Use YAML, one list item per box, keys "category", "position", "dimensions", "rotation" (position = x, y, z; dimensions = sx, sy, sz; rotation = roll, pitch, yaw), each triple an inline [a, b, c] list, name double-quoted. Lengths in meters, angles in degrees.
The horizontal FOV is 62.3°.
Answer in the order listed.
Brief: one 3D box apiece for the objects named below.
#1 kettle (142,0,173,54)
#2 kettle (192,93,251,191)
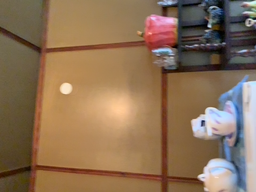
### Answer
- category: "kettle"
  position: [0.170, -0.380, 1.180]
  dimensions: [0.160, 0.150, 0.230]
  rotation: [35, -125, -72]
- category: "kettle"
  position: [0.360, 0.170, 0.910]
  dimensions: [0.540, 0.140, 0.290]
  rotation: [25, -115, -73]
